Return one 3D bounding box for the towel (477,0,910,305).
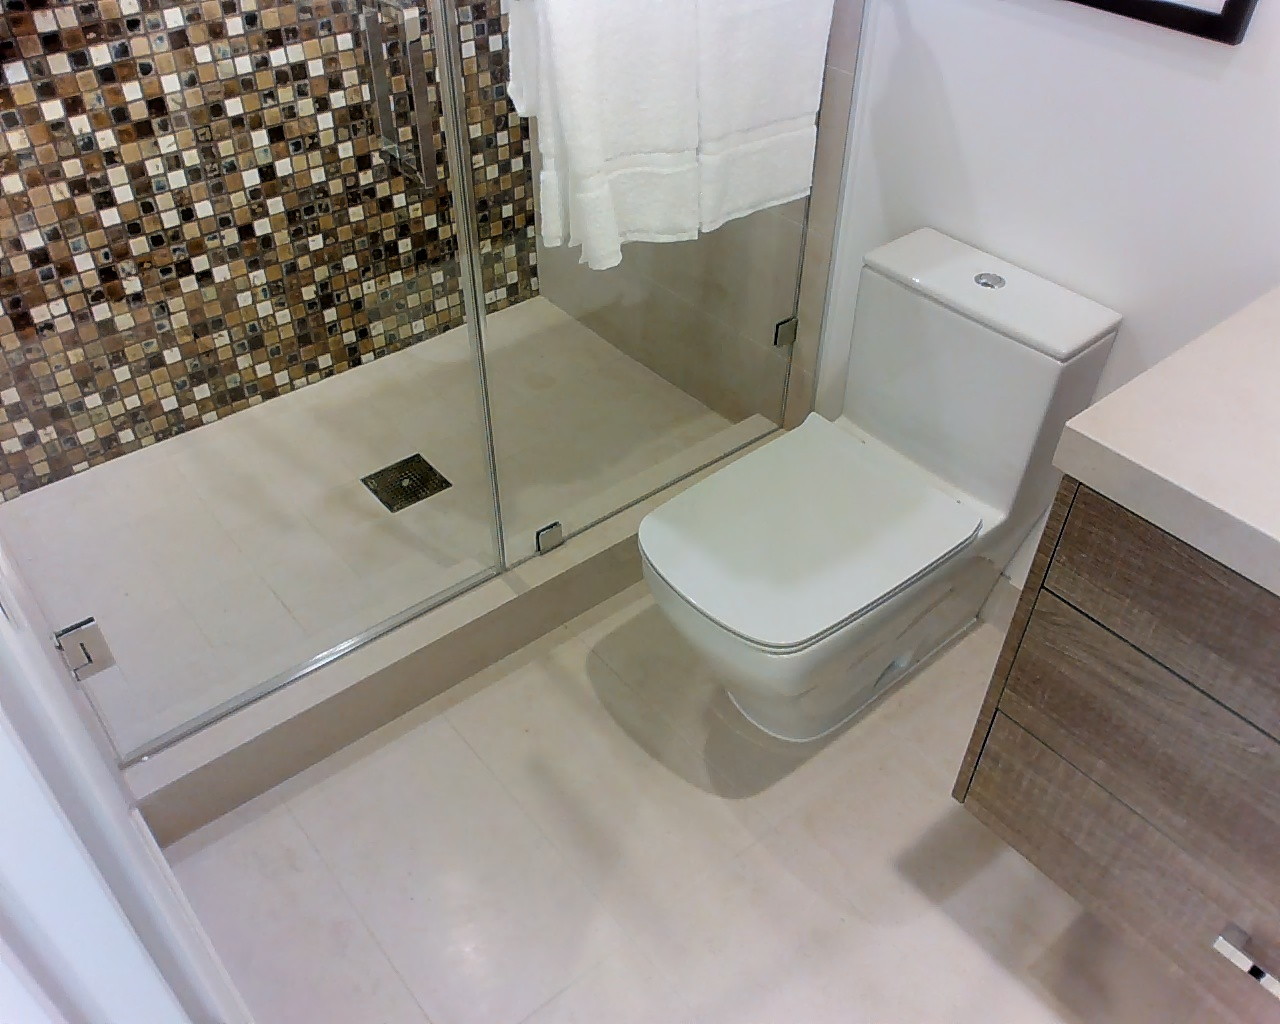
[{"bbox_3d":[0.100,-0.670,1.630,0.650,0.470,0.220,-28,49,-28],"label":"towel"}]

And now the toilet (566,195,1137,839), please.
[{"bbox_3d":[0.320,-0.010,1.840,0.720,0.740,0.480,-29,49,-29],"label":"toilet"}]
